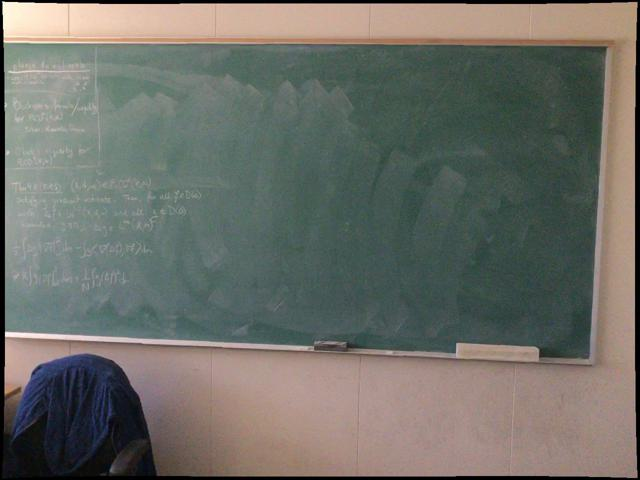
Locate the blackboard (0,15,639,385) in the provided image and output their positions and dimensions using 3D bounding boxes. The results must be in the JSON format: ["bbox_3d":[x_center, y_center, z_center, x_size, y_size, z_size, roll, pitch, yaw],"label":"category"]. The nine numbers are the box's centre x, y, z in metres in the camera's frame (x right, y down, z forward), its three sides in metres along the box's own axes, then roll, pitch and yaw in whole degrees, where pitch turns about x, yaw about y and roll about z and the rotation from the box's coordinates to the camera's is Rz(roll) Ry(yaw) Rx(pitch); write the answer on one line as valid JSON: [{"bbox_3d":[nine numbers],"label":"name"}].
[{"bbox_3d":[-0.120,-0.160,2.270,2.603,1.323,0.190,1,7,5],"label":"blackboard"}]

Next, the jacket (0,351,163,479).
[{"bbox_3d":[-0.918,0.862,2.220,0.549,0.792,0.250,1,7,5],"label":"jacket"}]
